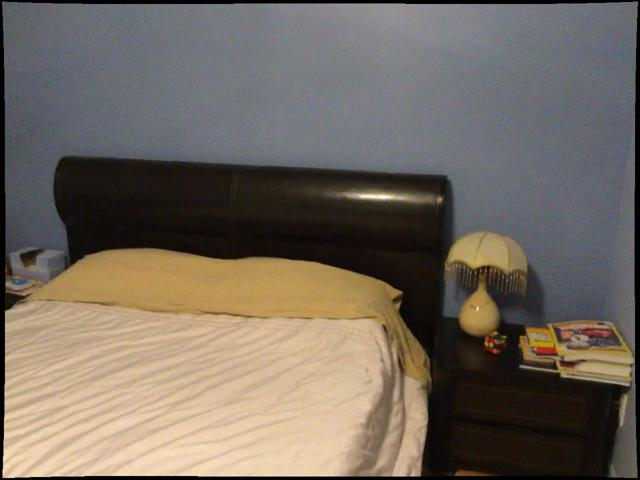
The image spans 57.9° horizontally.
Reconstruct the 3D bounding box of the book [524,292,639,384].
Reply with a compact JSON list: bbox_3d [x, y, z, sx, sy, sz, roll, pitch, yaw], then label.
[{"bbox_3d":[0.929,0.340,2.110,0.310,0.120,0.440,3,18,14],"label":"book"}]

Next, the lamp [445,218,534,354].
[{"bbox_3d":[0.639,0.160,2.210,0.280,0.410,0.320,3,18,14],"label":"lamp"}]

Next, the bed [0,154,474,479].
[{"bbox_3d":[-0.609,0.460,1.660,1.958,1.031,2.270,3,18,15],"label":"bed"}]
